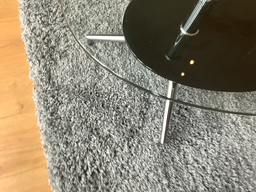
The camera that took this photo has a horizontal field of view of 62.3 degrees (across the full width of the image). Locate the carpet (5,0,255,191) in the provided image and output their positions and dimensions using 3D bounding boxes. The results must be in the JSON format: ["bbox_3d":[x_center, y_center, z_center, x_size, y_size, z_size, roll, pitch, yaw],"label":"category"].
[{"bbox_3d":[0.500,-0.130,0.900,1.760,0.070,1.230,-14,73,-13],"label":"carpet"}]
